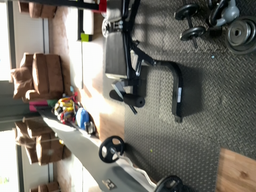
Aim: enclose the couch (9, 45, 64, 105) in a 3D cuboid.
[{"bbox_3d":[-1.970,-0.410,4.510,0.930,0.860,0.970,-24,74,56],"label":"couch"}]
